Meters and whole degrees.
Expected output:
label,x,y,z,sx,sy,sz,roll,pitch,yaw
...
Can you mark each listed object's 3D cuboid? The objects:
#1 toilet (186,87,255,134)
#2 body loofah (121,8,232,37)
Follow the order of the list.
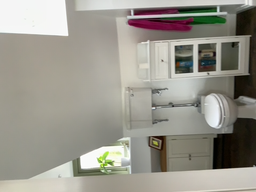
label,x,y,z,sx,sy,sz,roll,pitch,yaw
toilet,1.000,0.130,2.400,0.690,0.490,0.380,-104,12,-82
body loofah,0.500,-0.800,2.350,0.350,1.140,0.220,-102,10,-80
